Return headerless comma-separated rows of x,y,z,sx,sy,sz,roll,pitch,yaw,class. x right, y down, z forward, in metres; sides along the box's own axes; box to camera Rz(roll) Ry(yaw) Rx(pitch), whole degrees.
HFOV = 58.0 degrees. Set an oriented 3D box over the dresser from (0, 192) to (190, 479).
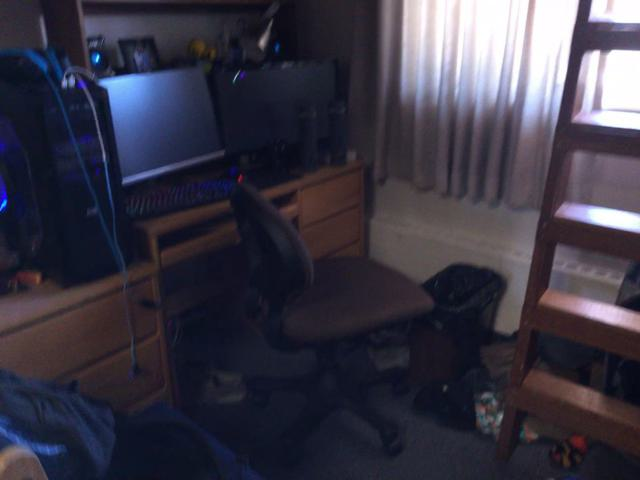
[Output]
-0.830,0.350,1.630,0.480,0.760,0.710,15,25,34,dresser
